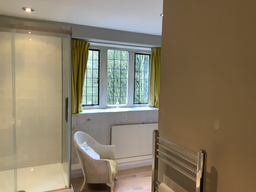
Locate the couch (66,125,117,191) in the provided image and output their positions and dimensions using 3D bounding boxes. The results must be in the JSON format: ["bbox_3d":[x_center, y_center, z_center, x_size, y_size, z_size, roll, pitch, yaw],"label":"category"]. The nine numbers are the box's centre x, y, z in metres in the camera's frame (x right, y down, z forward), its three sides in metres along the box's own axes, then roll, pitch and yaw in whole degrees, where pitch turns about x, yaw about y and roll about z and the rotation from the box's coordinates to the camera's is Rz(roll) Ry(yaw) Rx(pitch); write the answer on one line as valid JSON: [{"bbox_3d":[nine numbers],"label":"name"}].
[{"bbox_3d":[-0.520,0.900,3.210,0.630,0.760,0.660,2,5,2],"label":"couch"}]
